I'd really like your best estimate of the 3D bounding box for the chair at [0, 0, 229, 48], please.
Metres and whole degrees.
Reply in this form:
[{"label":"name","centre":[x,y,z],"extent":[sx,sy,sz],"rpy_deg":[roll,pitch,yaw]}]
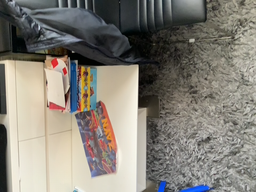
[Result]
[{"label":"chair","centre":[0.040,-0.500,0.910],"extent":[0.520,0.940,0.400],"rpy_deg":[1,94,38]}]
